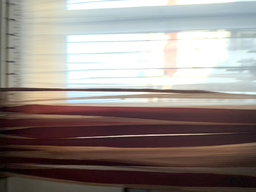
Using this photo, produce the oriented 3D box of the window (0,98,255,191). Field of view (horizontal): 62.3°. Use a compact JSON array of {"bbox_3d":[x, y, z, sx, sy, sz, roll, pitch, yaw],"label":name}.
[{"bbox_3d":[0.450,0.250,1.140,0.190,2.440,0.470,-30,-60,-84],"label":"window"}]
